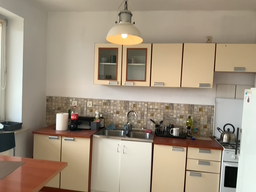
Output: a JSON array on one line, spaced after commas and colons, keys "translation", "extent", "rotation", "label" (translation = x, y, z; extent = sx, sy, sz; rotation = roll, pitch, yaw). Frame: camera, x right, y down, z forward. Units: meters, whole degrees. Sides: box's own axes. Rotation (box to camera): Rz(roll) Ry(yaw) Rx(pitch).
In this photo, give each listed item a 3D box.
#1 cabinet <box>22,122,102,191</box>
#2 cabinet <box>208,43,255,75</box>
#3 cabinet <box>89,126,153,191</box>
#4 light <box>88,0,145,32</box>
[{"translation": [-0.930, 0.880, 3.100], "extent": [0.940, 0.850, 0.570], "rotation": [3, 3, 9], "label": "cabinet"}, {"translation": [1.440, -0.480, 2.810], "extent": [0.630, 0.360, 0.320], "rotation": [3, 3, 9], "label": "cabinet"}, {"translation": [-0.080, 0.930, 3.000], "extent": [0.780, 0.850, 0.520], "rotation": [3, 3, 9], "label": "cabinet"}, {"translation": [-0.090, -0.920, 2.240], "extent": [0.430, 0.450, 0.670], "rotation": [4, 19, 12], "label": "light"}]
